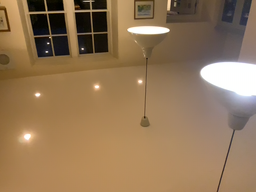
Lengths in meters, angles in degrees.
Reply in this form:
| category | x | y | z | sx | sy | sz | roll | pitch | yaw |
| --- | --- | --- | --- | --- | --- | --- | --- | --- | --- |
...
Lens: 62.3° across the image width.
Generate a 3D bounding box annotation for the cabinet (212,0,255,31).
| category | x | y | z | sx | sy | sz | roll | pitch | yaw |
| --- | --- | --- | --- | --- | --- | --- | --- | --- | --- |
| cabinet | 2.030 | -1.830 | 3.690 | 0.330 | 1.150 | 1.110 | -6 | -152 | -12 |
